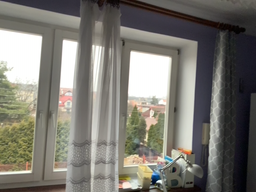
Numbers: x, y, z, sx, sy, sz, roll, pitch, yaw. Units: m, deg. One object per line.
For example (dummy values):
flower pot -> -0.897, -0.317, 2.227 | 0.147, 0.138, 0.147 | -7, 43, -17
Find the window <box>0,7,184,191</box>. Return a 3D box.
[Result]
window -> -0.430, 0.140, 1.980 | 2.090, 1.580, 0.140 | 4, -1, -22
